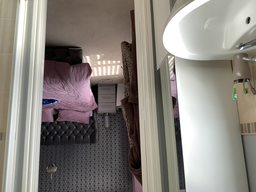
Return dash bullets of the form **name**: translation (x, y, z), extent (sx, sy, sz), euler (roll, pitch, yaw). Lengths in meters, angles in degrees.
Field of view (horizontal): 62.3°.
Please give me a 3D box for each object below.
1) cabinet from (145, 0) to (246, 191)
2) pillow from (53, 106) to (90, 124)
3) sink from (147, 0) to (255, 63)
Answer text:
- **cabinet**: translation (0.330, -0.130, 1.250), extent (0.340, 1.640, 0.380), euler (0, 169, -6)
- **pillow**: translation (-1.130, 0.390, 4.330), extent (0.650, 0.310, 0.470), euler (0, 169, -7)
- **sink**: translation (0.330, -0.300, 0.750), extent (0.420, 0.180, 0.540), euler (0, 169, -6)
